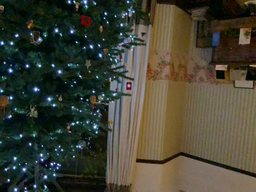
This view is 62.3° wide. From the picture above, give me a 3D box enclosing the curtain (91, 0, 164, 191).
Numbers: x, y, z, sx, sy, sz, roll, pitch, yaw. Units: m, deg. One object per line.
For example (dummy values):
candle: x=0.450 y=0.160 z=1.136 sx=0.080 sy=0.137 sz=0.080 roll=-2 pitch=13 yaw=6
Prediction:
curtain: x=-0.030 y=0.010 z=3.130 sx=0.800 sy=3.380 sz=0.340 roll=3 pitch=-175 yaw=-18
